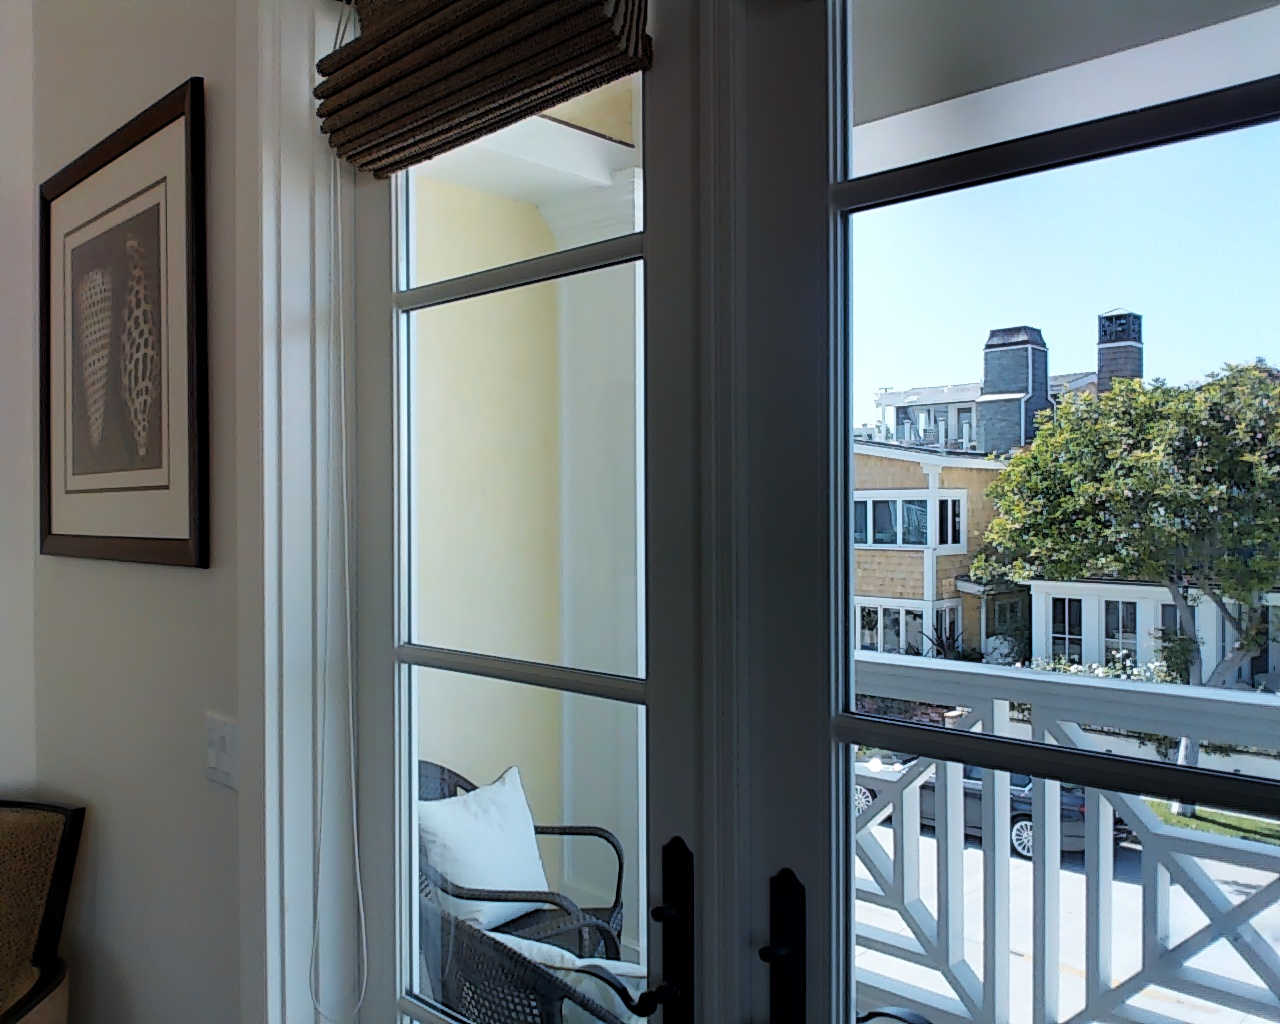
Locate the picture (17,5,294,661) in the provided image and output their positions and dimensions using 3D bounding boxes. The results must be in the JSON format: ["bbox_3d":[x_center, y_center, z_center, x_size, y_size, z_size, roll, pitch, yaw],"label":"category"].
[{"bbox_3d":[-1.010,-0.330,2.110,0.050,0.900,0.900,0,-37,-45],"label":"picture"}]
